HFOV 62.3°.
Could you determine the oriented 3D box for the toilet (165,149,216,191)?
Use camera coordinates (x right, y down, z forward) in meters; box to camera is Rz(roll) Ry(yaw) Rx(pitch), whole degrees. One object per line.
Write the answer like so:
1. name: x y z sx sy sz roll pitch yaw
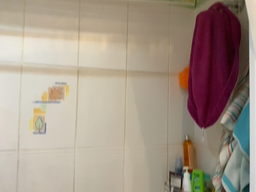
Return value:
1. toilet: 0.340 0.550 1.140 0.230 0.470 0.190 0 -2 27
